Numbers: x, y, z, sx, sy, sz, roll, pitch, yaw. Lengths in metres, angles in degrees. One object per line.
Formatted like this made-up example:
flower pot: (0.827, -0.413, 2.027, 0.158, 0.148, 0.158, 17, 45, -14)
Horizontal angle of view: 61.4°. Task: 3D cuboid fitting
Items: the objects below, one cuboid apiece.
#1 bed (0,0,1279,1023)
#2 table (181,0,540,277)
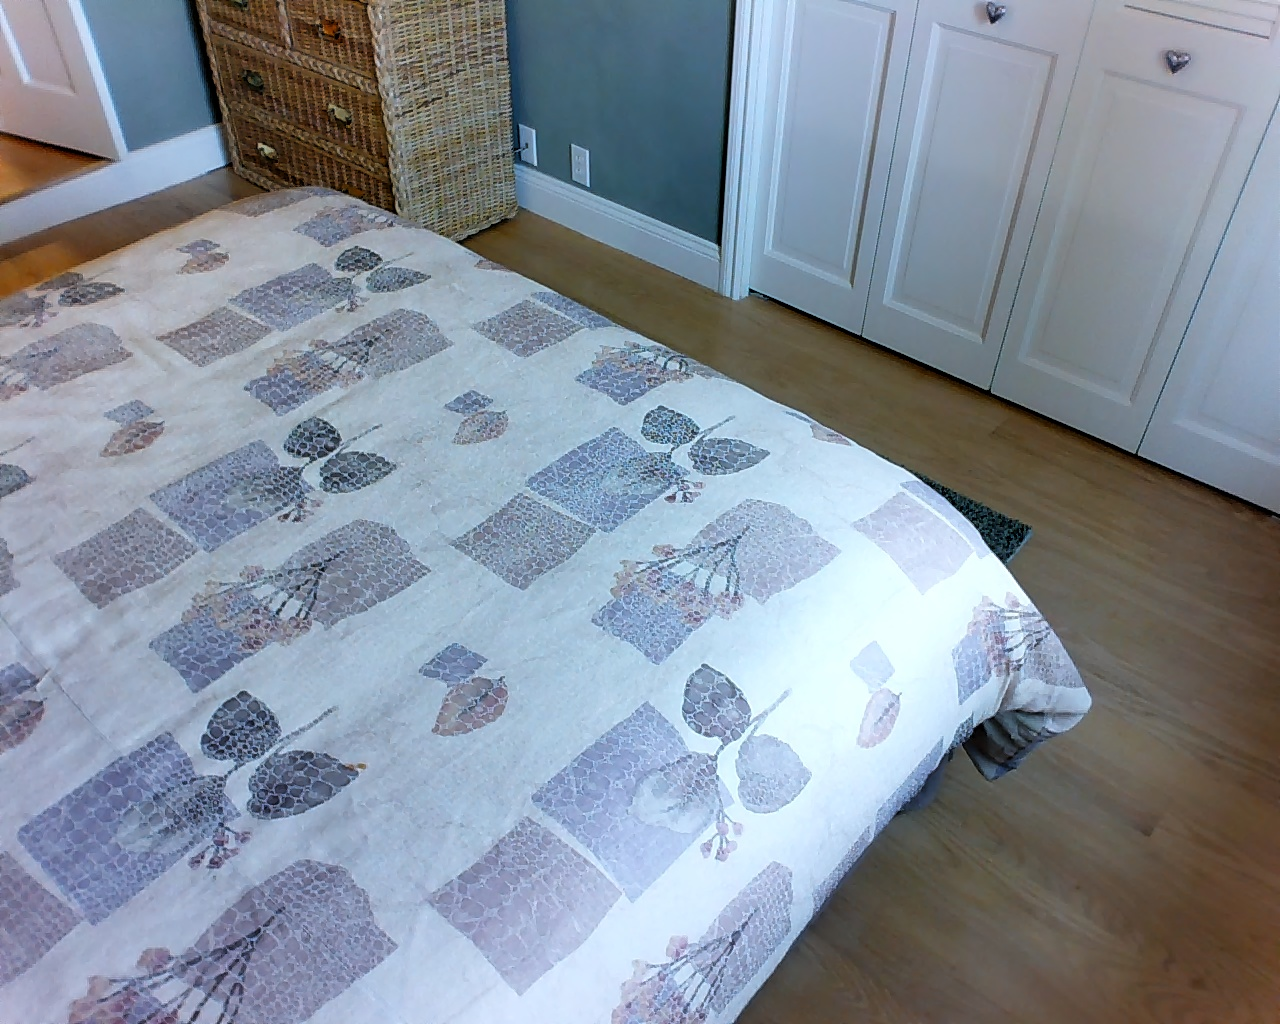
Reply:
bed: (-0.680, 0.210, 1.380, 2.030, 1.100, 2.210, 31, 51, 29)
table: (-0.870, -1.350, 3.330, 1.020, 0.790, 0.500, 31, 51, 29)
